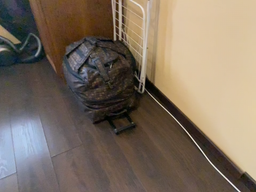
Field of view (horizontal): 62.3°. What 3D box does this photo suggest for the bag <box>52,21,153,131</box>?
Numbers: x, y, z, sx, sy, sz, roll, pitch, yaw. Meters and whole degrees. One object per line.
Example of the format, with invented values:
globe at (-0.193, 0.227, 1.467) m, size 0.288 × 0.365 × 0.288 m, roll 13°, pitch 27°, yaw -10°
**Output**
bag at (-0.180, -0.170, 1.480) m, size 0.480 × 0.440 × 0.540 m, roll -19°, pitch 43°, yaw -18°
